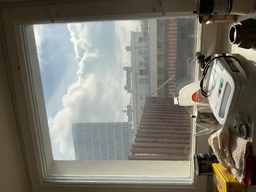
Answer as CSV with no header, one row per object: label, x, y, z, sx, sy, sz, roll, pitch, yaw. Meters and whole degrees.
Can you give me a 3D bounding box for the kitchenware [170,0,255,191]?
kitchenware,0.340,0.160,0.920,0.350,0.250,1.080,-78,-13,-72
